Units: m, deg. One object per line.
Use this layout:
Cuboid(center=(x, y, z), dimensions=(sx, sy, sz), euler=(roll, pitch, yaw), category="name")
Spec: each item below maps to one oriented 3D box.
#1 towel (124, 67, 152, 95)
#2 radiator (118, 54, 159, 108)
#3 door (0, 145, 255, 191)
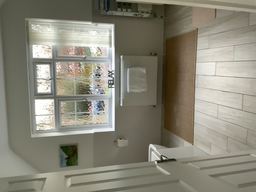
Cuboid(center=(0.150, -0.240, 3.330), dimensions=(0.140, 0.400, 0.420), euler=(-151, 61, -73), category="towel")
Cuboid(center=(0.170, -0.240, 3.490), dimensions=(0.140, 0.640, 0.850), euler=(-151, 61, -73), category="radiator")
Cuboid(center=(0.200, 0.460, 1.190), dimensions=(0.810, 2.060, 0.050), euler=(171, 98, -75), category="door")
